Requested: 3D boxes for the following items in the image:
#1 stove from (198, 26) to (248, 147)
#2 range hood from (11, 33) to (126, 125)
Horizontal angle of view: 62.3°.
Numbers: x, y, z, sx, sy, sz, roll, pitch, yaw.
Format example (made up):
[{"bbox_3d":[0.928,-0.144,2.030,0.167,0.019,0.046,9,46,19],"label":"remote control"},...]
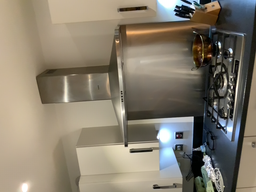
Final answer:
[{"bbox_3d":[0.680,-0.110,1.630,0.600,0.050,0.770,-93,-2,-67],"label":"stove"},{"bbox_3d":[-0.390,-0.160,1.680,0.460,0.700,0.580,-92,-2,-70],"label":"range hood"}]
